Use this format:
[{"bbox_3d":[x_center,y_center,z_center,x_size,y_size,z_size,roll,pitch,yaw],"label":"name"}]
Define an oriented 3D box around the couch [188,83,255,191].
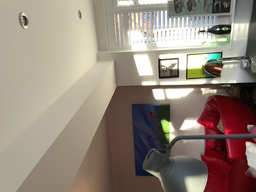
[{"bbox_3d":[1.740,1.090,3.910,1.290,0.870,2.300,-82,-11,-56],"label":"couch"}]
